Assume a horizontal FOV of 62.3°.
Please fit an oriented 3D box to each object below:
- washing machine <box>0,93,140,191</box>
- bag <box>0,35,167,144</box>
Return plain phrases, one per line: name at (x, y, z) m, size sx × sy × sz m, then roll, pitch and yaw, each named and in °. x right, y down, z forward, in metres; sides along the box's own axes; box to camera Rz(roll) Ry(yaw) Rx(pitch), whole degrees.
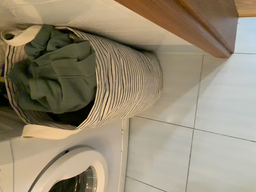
washing machine at (-0.460, 0.340, 0.970) m, size 0.670 × 0.840 × 0.590 m, roll 9°, pitch 98°, yaw 30°
bag at (-0.160, -0.060, 0.840) m, size 0.390 × 0.640 × 0.240 m, roll 11°, pitch 99°, yaw 30°
